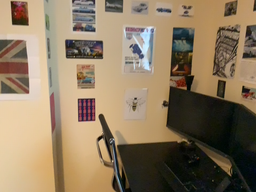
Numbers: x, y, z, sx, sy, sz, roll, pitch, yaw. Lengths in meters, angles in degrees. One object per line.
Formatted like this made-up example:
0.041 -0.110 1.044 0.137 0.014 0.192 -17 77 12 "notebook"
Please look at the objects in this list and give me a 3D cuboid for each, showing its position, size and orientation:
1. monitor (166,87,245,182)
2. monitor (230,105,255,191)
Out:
0.550 0.250 1.680 0.050 0.540 0.680 -5 14 -29 "monitor"
0.650 0.390 1.040 0.050 0.540 0.680 3 12 10 "monitor"
